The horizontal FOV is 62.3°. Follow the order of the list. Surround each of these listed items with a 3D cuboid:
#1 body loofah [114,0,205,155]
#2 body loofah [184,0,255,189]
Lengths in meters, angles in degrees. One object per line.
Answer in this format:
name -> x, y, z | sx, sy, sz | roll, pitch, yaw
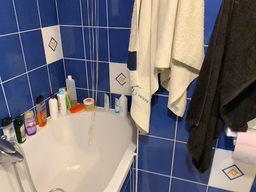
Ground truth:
body loofah -> 0.120, -0.200, 0.860 | 0.310, 0.910, 0.160 | 7, 25, 14
body loofah -> 0.460, -0.030, 0.860 | 0.350, 0.900, 0.130 | 7, 26, 14
